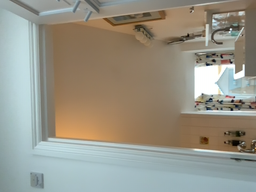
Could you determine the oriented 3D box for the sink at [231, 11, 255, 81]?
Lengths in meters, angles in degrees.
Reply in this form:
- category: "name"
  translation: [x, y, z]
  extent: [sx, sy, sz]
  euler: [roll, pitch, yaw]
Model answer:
- category: "sink"
  translation: [0.970, -0.360, 1.730]
  extent: [0.610, 0.160, 0.450]
  euler: [-5, -85, -70]
